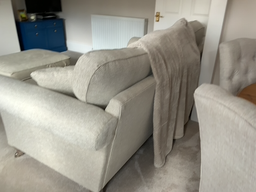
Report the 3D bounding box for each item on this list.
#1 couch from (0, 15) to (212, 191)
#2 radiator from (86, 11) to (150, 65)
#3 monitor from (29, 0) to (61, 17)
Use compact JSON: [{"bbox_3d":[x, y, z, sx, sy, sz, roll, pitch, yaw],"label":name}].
[{"bbox_3d":[-0.060,-0.160,2.000,1.040,0.960,2.070,16,29,27],"label":"couch"},{"bbox_3d":[-0.240,-1.140,4.090,1.290,0.830,0.200,17,29,28],"label":"radiator"},{"bbox_3d":[-1.730,-1.930,4.430,0.630,0.500,0.040,-17,32,-35],"label":"monitor"}]
